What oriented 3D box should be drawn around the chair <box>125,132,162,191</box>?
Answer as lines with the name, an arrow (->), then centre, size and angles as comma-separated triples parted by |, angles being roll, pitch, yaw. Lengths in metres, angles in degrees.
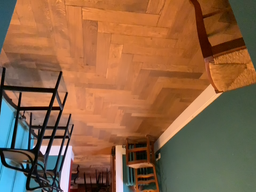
chair -> 0.260, 1.160, 3.620 | 0.470, 0.940, 0.470 | -10, 153, 15

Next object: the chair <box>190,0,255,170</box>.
chair -> 0.680, -0.200, 1.040 | 0.500, 0.980, 0.410 | -19, 148, 30
